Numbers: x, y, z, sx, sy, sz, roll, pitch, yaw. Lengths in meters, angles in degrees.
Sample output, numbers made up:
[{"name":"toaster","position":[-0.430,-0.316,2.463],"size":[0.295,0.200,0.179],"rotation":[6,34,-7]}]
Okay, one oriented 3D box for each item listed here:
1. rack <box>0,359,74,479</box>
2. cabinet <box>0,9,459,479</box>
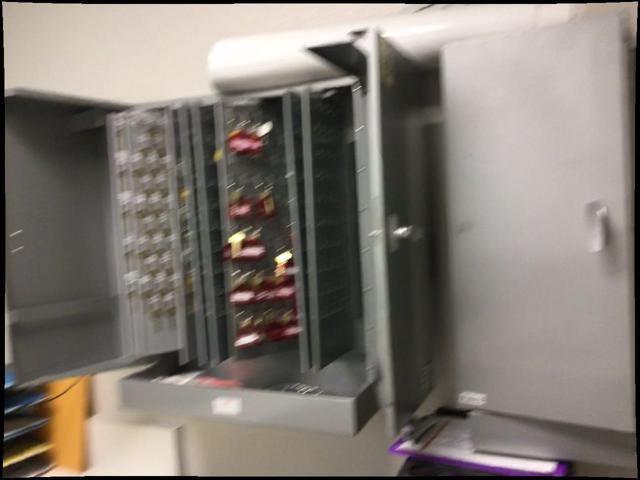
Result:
[{"name":"rack","position":[-1.009,0.541,1.700],"size":[0.350,0.280,0.370],"rotation":[-2,3,22]},{"name":"cabinet","position":[-0.240,0.020,1.340],"size":[1.009,0.781,0.460],"rotation":[-2,3,22]}]
